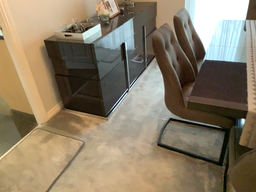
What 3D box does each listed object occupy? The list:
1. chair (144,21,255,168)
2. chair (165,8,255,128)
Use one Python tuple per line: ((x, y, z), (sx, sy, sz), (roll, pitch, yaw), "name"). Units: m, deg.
((0.490, -0.020, 1.620), (0.600, 0.940, 0.450), (10, 36, 21), "chair")
((0.730, -0.270, 1.980), (0.620, 0.940, 0.470), (10, 36, 21), "chair")
